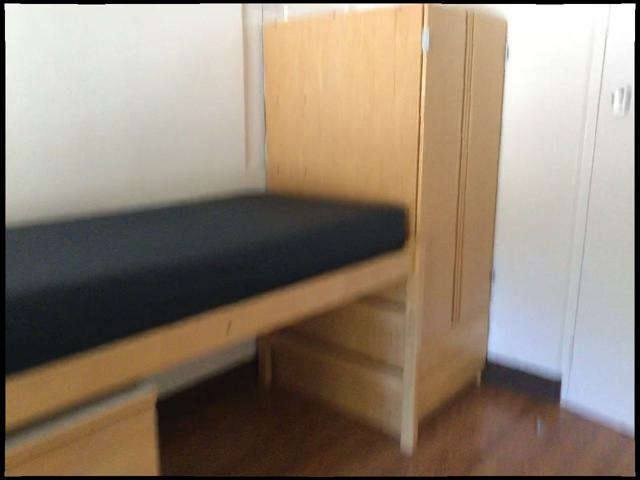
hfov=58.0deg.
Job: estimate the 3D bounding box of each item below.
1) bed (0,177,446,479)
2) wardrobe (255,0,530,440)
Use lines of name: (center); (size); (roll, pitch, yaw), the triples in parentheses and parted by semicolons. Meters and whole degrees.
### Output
bed: (-0.649, 0.471, 2.060); (1.109, 1.082, 2.198); (13, 19, 42)
wardrobe: (0.329, -0.170, 3.030); (1.069, 1.894, 0.789); (13, 19, 43)
